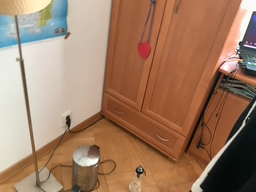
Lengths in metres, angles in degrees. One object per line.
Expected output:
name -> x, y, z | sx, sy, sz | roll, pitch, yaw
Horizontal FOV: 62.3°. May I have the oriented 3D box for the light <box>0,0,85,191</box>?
light -> -0.510, 0.060, 0.990 | 0.470, 1.480, 0.320 | 30, 37, 27
